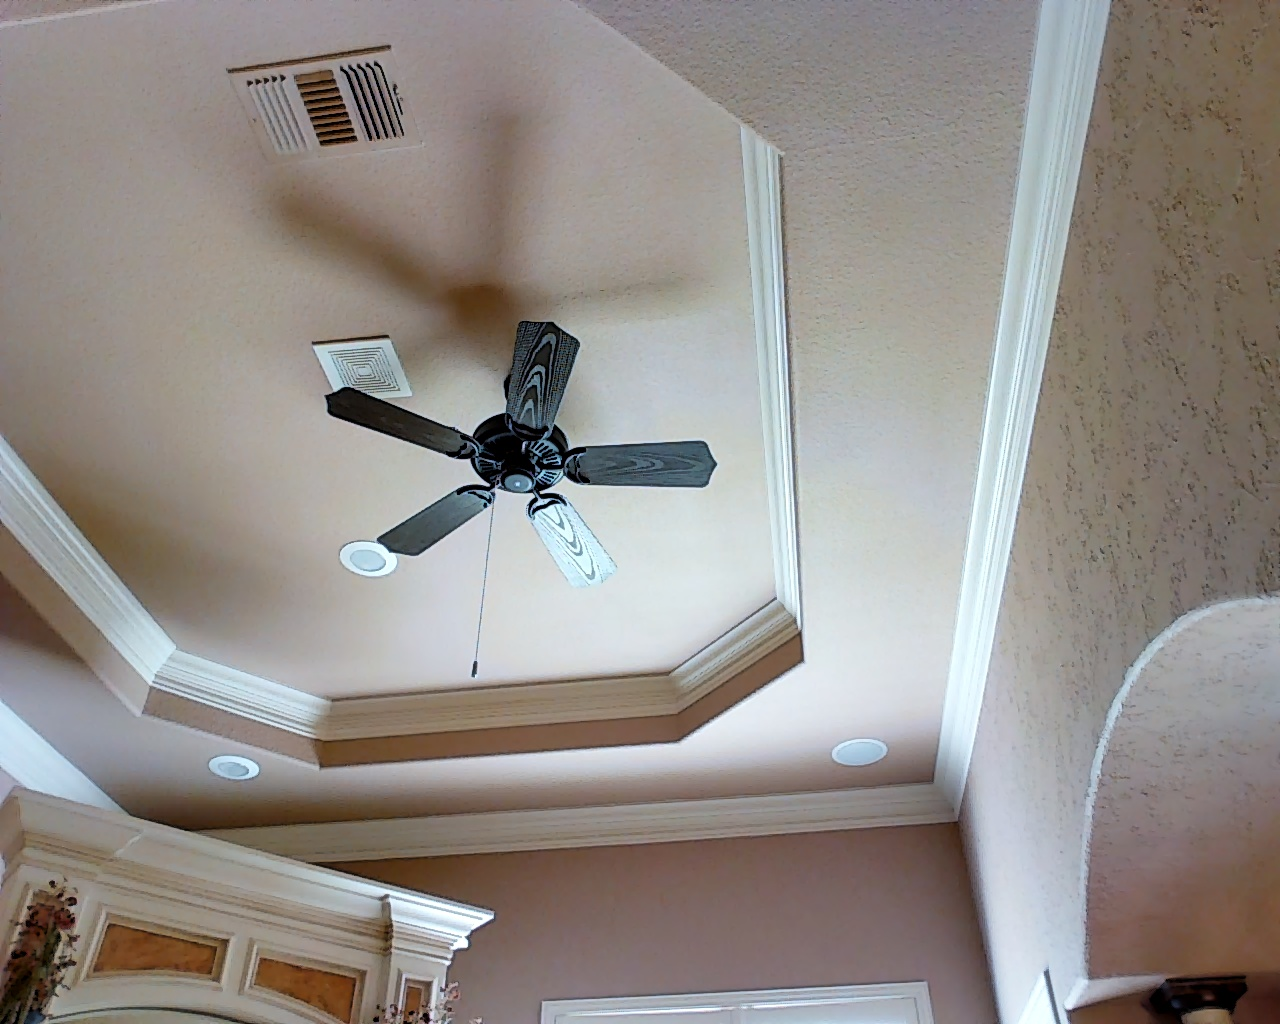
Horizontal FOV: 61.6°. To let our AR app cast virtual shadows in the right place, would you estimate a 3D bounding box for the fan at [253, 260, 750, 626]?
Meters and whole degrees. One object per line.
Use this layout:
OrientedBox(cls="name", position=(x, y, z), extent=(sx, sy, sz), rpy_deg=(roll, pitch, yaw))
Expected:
OrientedBox(cls="fan", position=(-0.370, -0.120, 3.110), extent=(1.040, 0.130, 0.970), rpy_deg=(-22, -46, 23))
